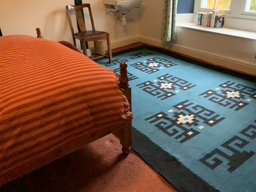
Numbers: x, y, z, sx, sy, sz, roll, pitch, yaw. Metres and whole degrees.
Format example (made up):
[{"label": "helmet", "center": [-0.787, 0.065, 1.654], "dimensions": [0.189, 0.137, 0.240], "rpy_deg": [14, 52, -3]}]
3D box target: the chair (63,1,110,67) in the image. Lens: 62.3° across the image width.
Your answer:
[{"label": "chair", "center": [-0.610, -0.950, 3.210], "dimensions": [0.420, 0.850, 0.500], "rpy_deg": [-20, 32, -30]}]
